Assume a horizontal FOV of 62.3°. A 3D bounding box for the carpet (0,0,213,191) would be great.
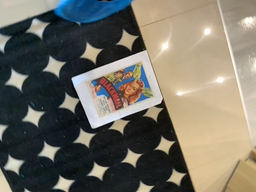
[{"bbox_3d":[-0.060,0.360,0.880,0.720,0.100,1.460,-24,100,-2],"label":"carpet"}]
